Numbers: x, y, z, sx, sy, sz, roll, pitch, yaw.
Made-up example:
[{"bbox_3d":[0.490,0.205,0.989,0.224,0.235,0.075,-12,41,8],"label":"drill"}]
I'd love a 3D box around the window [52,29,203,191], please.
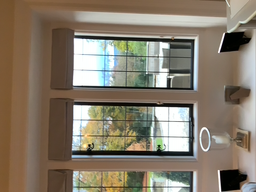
[{"bbox_3d":[0.010,0.340,2.410,0.090,1.660,2.100,179,92,-86],"label":"window"}]
